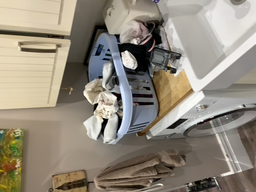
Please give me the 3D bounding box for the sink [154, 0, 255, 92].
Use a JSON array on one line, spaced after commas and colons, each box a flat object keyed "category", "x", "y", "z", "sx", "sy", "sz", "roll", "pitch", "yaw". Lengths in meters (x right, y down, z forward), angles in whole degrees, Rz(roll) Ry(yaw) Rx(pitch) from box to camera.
[{"category": "sink", "x": 0.380, "y": -0.390, "z": 0.930, "sx": 0.400, "sy": 0.230, "sz": 0.630, "roll": -52, "pitch": 47, "yaw": 52}]
